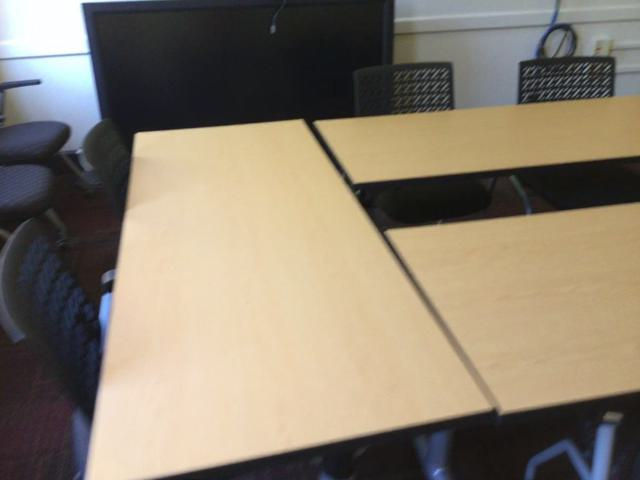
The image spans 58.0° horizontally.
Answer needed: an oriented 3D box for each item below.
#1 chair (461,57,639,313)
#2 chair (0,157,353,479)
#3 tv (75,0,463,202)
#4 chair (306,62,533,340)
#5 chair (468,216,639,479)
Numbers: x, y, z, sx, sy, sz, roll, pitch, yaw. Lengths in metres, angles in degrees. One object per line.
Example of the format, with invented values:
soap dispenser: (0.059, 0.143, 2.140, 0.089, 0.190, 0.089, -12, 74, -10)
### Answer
chair: (0.990, -0.230, 2.270, 0.640, 0.790, 0.540, -6, 30, -6)
chair: (-0.320, 0.350, 1.300, 0.590, 0.830, 0.560, -15, 32, -20)
tv: (-0.210, -0.830, 3.260, 1.960, 0.990, 0.260, -7, 31, -4)
chair: (0.320, -0.170, 2.200, 0.610, 0.810, 0.590, -8, 31, -9)
chair: (0.710, 0.420, 1.170, 0.640, 0.770, 0.550, -1, 30, 3)
